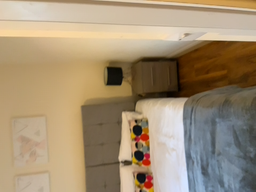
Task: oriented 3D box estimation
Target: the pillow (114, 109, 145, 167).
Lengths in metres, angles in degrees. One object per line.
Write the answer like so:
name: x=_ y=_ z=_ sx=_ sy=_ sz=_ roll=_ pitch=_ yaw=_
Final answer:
pillow: x=0.020 y=0.530 z=2.790 sx=0.170 sy=0.310 sz=0.690 roll=-11 pitch=82 yaw=59
